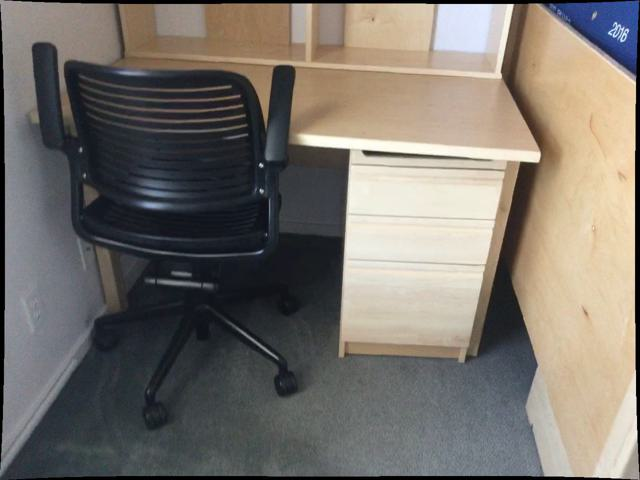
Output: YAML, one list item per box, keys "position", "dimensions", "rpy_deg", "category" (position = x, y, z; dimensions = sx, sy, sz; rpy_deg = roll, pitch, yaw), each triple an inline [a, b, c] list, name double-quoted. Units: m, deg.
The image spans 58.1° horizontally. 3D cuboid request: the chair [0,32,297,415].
- position: [-0.389, -0.030, 1.580]
  dimensions: [0.589, 0.941, 0.400]
  rpy_deg: [3, 31, 5]
  category: "chair"
